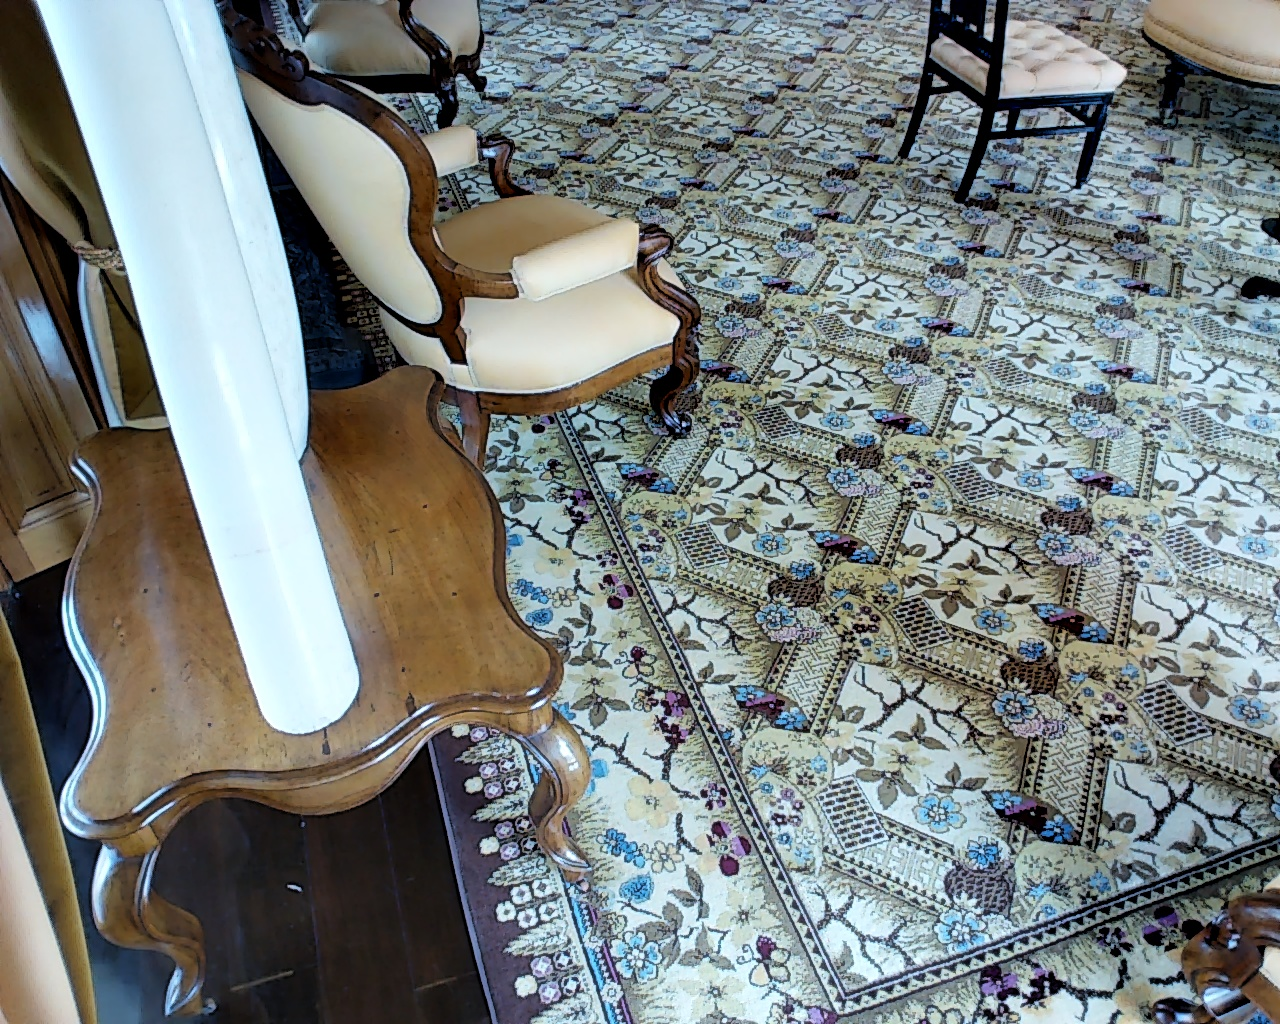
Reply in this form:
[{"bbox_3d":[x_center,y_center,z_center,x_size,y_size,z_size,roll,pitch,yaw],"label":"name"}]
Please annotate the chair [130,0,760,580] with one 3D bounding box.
[{"bbox_3d":[-0.350,-0.620,2.220,0.880,1.030,0.720,-29,50,-29],"label":"chair"}]
